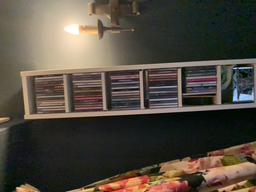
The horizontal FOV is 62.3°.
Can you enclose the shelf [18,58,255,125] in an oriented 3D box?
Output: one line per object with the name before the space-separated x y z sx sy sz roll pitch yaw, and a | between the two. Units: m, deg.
shelf | 0.530 -0.050 0.970 0.190 1.970 0.230 -80 -13 -85
